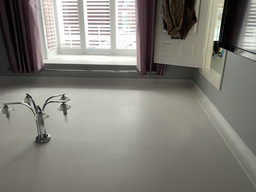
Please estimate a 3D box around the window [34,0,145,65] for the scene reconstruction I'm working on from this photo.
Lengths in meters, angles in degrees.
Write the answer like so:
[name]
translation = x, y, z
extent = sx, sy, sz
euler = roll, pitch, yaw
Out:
[window]
translation = -0.670, -1.290, 3.920
extent = 1.920, 1.350, 0.310
euler = 2, -159, 1
